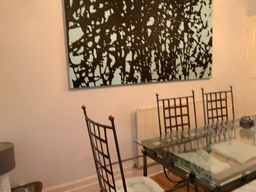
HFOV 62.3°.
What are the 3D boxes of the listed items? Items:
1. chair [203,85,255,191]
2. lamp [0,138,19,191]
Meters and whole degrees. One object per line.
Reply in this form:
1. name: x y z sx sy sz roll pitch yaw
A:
1. chair: 1.100 0.460 2.190 0.470 1.080 0.400 -7 9 -27
2. lamp: -1.070 0.610 1.710 0.290 0.410 0.320 -7 9 -29
